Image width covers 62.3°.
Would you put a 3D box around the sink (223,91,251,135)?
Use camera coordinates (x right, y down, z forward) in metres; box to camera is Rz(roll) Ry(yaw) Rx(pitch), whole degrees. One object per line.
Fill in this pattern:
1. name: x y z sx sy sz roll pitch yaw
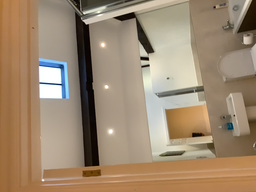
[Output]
1. sink: 1.380 0.230 2.720 0.440 0.140 0.510 31 -128 -72
